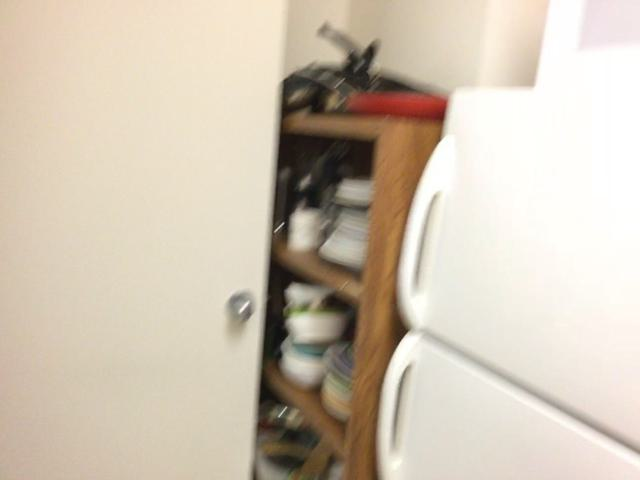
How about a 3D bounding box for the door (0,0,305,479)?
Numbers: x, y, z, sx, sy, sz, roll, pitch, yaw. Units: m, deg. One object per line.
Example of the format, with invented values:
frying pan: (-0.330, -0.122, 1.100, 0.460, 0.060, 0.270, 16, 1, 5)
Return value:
door: (-0.610, 0.080, 1.490, 1.050, 2.090, 0.150, 0, 13, -18)
